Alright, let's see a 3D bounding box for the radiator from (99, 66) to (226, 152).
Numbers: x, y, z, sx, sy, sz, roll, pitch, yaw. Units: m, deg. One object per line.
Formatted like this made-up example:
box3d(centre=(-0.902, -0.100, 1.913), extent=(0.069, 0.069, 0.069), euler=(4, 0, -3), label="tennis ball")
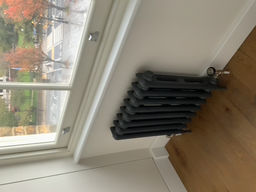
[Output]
box3d(centre=(0.210, 0.100, 1.370), extent=(0.570, 0.630, 0.140), euler=(-62, 42, 37), label="radiator")
